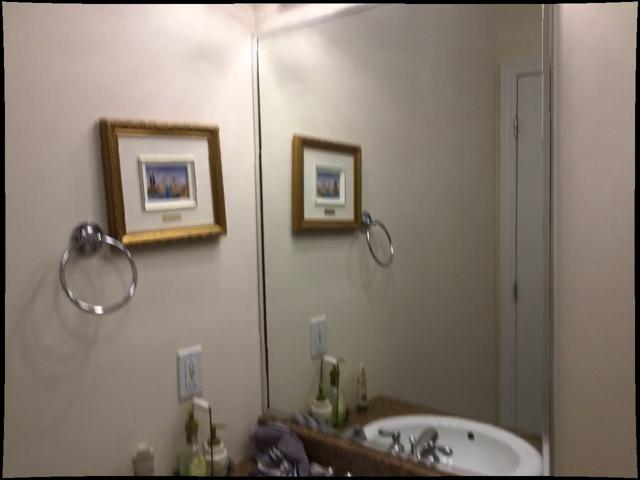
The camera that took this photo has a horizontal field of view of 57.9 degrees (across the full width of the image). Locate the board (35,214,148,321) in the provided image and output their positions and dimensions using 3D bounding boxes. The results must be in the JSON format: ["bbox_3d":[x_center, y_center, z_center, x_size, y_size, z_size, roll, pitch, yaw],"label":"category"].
[{"bbox_3d":[-0.470,0.050,1.210,0.020,0.200,0.230,3,6,40],"label":"board"}]

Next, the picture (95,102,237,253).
[{"bbox_3d":[-0.340,-0.140,1.340,0.040,0.310,0.350,3,6,40],"label":"picture"}]
